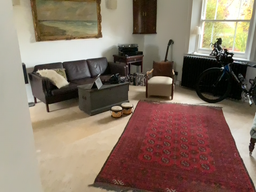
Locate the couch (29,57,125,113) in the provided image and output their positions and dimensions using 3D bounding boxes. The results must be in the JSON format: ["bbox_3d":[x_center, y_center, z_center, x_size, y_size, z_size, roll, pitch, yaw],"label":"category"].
[{"bbox_3d":[-1.000,-0.330,4.460,1.720,0.740,0.870,-14,24,-38],"label":"couch"}]
